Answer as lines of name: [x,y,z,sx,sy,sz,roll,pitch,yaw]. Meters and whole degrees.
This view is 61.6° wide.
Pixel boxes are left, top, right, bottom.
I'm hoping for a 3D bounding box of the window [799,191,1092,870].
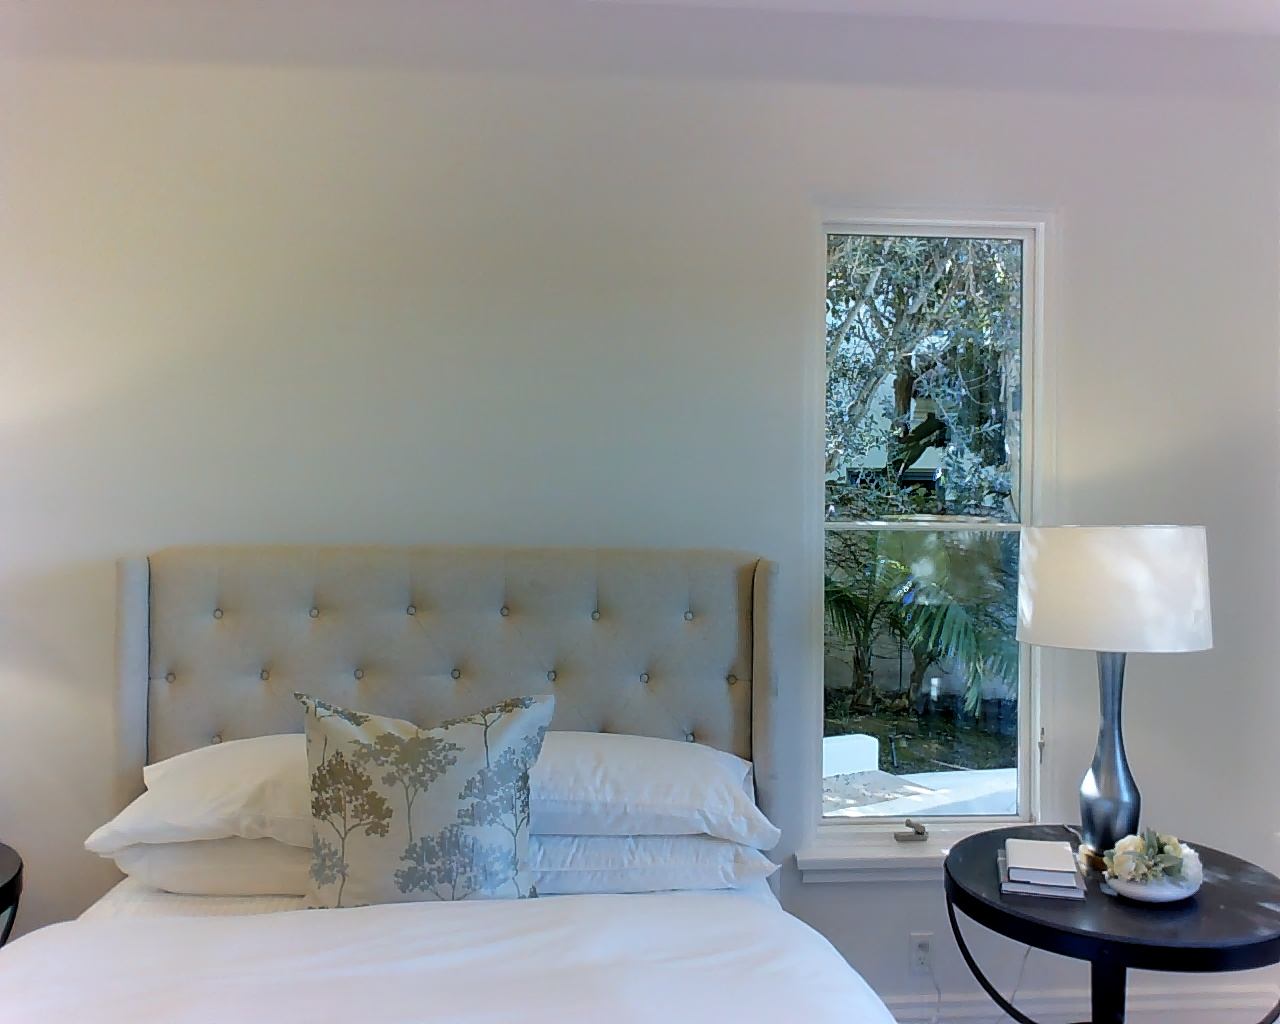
window: [0.880,0.060,3.120,0.770,1.901,0.170,1,0,-5]
